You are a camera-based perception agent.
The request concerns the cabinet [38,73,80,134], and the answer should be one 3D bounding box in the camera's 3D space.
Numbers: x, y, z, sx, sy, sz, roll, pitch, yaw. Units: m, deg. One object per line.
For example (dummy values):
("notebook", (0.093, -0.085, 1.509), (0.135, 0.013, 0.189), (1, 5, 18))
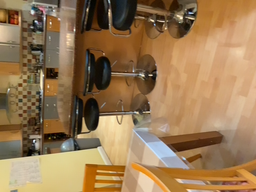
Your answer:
("cabinet", (-1.830, 0.180, 5.550), (0.590, 0.910, 1.440), (39, 125, 56))
